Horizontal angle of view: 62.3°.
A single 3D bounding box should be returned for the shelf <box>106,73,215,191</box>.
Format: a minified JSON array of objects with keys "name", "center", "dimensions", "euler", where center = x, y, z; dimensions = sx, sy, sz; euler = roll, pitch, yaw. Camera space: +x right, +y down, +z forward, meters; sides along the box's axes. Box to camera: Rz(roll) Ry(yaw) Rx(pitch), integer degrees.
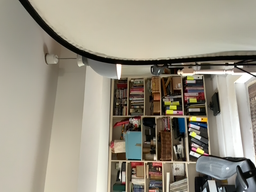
[{"name":"shelf","center":[0.570,0.840,4.070],"dimensions":[0.310,1.860,2.630],"euler":[77,-167,-72]}]
